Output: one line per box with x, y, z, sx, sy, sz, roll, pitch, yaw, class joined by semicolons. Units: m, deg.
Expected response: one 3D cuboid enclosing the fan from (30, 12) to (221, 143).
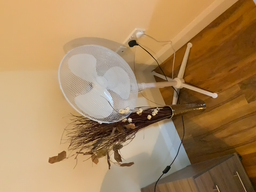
0.040;-0.100;1.290;0.400;1.030;0.460;-36;67;46;fan
